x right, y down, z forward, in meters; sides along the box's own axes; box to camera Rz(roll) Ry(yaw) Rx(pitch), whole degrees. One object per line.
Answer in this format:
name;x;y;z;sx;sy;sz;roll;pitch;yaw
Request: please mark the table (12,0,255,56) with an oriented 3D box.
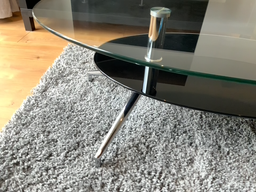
table;0.050;-0.670;1.510;1.490;0.390;0.580;6;38;3
